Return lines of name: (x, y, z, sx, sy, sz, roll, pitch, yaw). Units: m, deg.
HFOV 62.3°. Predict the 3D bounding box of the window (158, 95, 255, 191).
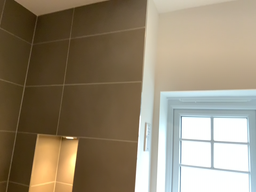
window: (0.470, 0.430, 1.260, 0.560, 0.860, 0.080, -1, -12, 26)
